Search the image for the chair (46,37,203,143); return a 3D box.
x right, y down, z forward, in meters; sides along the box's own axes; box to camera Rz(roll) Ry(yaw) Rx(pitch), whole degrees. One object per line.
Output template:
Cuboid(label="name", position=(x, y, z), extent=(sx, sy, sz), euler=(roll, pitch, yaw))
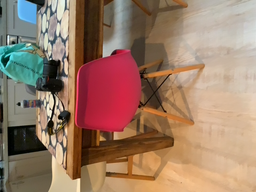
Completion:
Cuboid(label="chair", position=(-0.020, -0.050, 1.300), extent=(0.530, 0.790, 0.430), euler=(7, 97, 55))

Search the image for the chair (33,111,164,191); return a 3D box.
Cuboid(label="chair", position=(-0.240, 0.500, 1.650), extent=(0.640, 0.790, 0.650), euler=(6, 97, 55))
